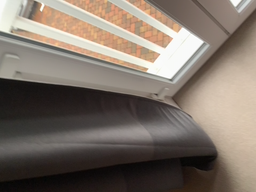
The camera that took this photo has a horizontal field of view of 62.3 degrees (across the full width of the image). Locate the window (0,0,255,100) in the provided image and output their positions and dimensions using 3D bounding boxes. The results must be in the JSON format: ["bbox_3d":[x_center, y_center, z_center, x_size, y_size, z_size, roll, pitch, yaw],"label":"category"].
[{"bbox_3d":[-0.060,-0.460,0.550,1.030,2.160,0.110,-53,56,23],"label":"window"}]
